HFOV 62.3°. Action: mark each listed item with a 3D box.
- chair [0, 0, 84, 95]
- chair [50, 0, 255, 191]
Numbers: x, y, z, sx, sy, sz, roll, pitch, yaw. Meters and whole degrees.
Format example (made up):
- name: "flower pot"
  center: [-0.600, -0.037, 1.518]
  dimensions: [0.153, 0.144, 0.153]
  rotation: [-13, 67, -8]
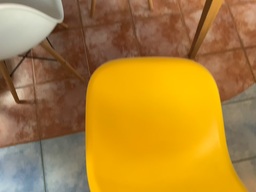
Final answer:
- name: "chair"
  center: [-0.510, -0.370, 0.850]
  dimensions: [0.450, 0.780, 0.460]
  rotation: [-14, 77, -6]
- name: "chair"
  center: [0.090, 0.100, 0.760]
  dimensions: [0.480, 0.780, 0.540]
  rotation: [-3, 76, -3]
